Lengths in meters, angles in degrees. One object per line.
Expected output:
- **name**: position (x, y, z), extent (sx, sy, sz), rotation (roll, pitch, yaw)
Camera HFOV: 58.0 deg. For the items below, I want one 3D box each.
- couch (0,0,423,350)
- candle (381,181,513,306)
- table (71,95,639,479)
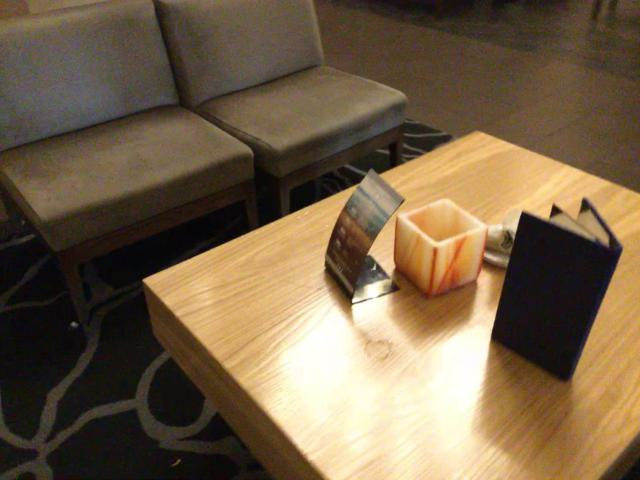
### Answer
- **couch**: position (-0.450, -0.480, 2.210), extent (1.510, 0.820, 0.860), rotation (-29, 43, -32)
- **candle**: position (0.280, 0.000, 1.290), extent (0.230, 0.140, 0.170), rotation (-29, 43, -32)
- **table**: position (0.330, 0.180, 1.440), extent (1.380, 0.460, 1.060), rotation (-29, 43, -32)
